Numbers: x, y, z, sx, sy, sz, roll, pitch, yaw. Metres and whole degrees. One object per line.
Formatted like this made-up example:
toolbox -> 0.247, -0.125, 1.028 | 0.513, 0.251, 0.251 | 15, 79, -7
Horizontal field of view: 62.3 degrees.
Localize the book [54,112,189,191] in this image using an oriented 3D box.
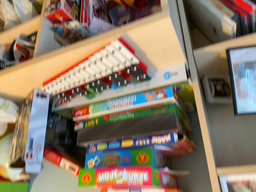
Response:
book -> 0.000, 0.330, 0.720 | 0.370, 0.420, 0.310 | -11, 154, 19
